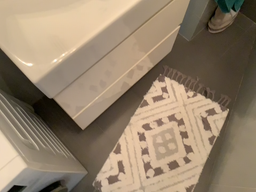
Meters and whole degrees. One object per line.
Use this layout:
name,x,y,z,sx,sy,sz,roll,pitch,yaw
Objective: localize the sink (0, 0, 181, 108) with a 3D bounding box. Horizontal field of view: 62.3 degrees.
sink,-0.120,-0.390,0.740,0.440,0.180,0.760,43,74,13
